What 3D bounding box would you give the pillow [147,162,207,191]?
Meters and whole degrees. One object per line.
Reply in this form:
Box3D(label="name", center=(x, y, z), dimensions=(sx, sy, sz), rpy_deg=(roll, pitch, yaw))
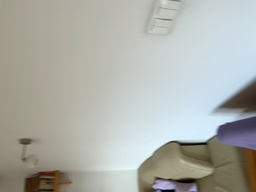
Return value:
Box3D(label="pillow", center=(0.520, 1.100, 2.410), dimensions=(0.840, 0.350, 0.430), rpy_deg=(107, 161, -56))
